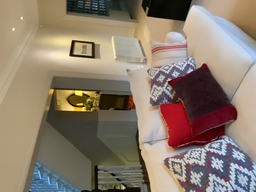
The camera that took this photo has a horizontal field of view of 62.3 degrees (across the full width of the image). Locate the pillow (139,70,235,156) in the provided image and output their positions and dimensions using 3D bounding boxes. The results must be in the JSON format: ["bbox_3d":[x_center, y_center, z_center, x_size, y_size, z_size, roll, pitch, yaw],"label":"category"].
[{"bbox_3d":[0.440,0.080,1.570,0.530,0.490,0.230,-39,-37,-44],"label":"pillow"}]

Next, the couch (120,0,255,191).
[{"bbox_3d":[0.610,0.170,1.590,2.310,0.960,1.070,-101,18,-48],"label":"couch"}]
